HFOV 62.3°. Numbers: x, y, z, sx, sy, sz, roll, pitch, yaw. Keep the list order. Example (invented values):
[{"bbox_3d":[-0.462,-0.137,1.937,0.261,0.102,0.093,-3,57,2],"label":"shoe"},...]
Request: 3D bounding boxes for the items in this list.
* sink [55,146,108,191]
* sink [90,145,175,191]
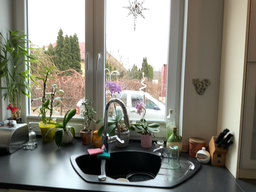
[{"bbox_3d":[-0.290,0.500,1.430,0.220,0.180,0.430,2,6,7],"label":"sink"},{"bbox_3d":[0.050,0.510,1.390,0.450,0.180,0.530,2,6,7],"label":"sink"}]
